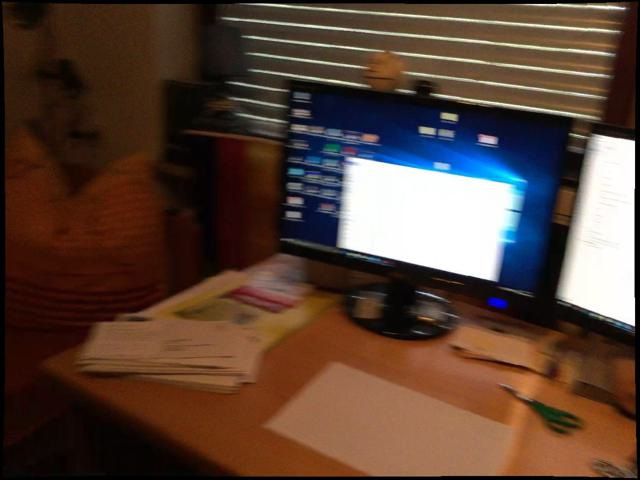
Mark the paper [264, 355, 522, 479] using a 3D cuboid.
[{"bbox_3d":[0.110,0.270,0.830,0.310,0.010,0.220,16,23,25],"label":"paper"}]

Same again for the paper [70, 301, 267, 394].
[{"bbox_3d":[-0.230,0.170,0.940,0.280,0.050,0.190,3,21,-7],"label":"paper"}]
